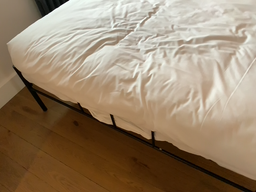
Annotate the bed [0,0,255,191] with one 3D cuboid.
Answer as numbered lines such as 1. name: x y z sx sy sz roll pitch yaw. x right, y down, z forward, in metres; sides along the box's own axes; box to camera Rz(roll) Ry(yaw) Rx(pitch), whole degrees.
1. bed: 0.440 -0.520 1.560 1.440 0.640 2.010 22 57 24
